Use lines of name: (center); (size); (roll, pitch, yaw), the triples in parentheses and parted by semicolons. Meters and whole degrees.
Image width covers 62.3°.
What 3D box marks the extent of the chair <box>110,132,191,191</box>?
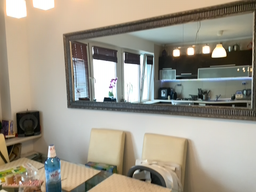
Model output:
chair: (0.190, 0.850, 1.560); (0.390, 1.020, 0.530); (3, 7, 30)

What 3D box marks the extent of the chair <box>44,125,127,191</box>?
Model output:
chair: (-0.320, 0.830, 1.810); (0.370, 1.010, 0.590); (3, 7, 30)
